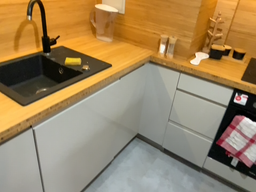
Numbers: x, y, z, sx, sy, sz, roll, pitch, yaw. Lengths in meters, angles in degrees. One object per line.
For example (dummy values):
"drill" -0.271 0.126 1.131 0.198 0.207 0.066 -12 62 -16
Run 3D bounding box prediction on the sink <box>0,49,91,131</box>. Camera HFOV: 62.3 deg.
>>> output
"sink" -0.490 -0.070 1.120 0.440 0.160 0.380 24 35 26
